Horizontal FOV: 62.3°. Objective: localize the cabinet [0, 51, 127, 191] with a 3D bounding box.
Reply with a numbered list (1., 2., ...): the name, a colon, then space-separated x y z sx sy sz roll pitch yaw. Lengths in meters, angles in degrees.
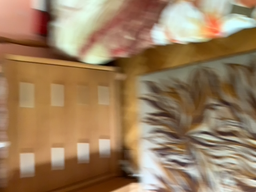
1. cabinet: -0.480 0.180 1.650 0.370 0.920 0.860 -4 88 45
